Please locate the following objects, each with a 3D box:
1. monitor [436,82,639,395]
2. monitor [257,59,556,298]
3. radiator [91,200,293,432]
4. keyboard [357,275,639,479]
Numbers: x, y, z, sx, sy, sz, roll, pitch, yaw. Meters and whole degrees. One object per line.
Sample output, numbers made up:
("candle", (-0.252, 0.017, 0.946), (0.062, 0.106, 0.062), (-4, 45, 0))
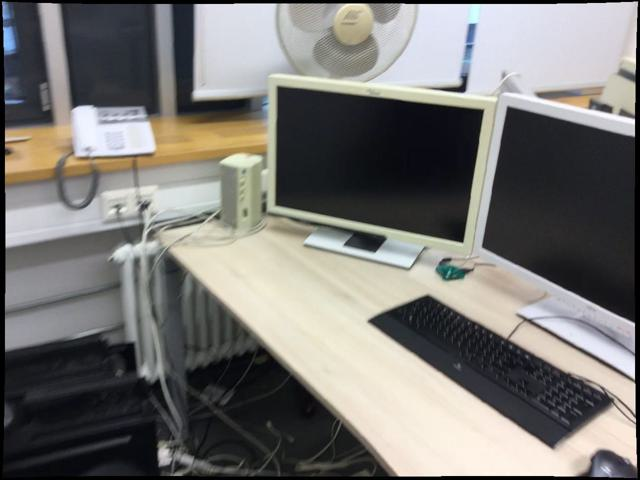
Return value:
("monitor", (0.569, -0.020, 1.140), (0.210, 0.450, 0.680), (-12, 29, -30))
("monitor", (0.190, -0.180, 1.470), (0.669, 0.450, 0.220), (13, 26, 20))
("radiator", (-0.410, 0.240, 1.960), (0.590, 0.641, 0.200), (-12, 29, -30))
("keyboard", (0.340, 0.230, 1.070), (0.260, 0.040, 0.570), (-12, 29, -30))
